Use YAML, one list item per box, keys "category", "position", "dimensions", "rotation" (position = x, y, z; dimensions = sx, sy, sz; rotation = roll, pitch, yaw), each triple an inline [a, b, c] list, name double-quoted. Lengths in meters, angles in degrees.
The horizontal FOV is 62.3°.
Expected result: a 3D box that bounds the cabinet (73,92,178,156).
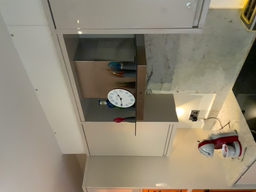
- category: "cabinet"
  position: [-0.020, 0.270, 1.930]
  dimensions: [0.530, 0.810, 0.320]
  rotation: [91, 180, -46]
